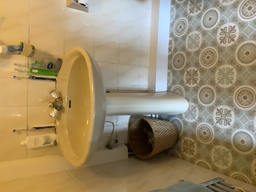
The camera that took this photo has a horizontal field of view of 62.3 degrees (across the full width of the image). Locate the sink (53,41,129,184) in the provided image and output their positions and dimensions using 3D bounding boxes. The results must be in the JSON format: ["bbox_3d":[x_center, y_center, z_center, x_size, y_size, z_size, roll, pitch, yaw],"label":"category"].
[{"bbox_3d":[-0.230,0.060,1.140,0.500,0.180,0.600,6,94,54],"label":"sink"}]

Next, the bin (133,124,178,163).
[{"bbox_3d":[0.210,0.350,1.620,0.220,0.250,0.240,-6,84,54],"label":"bin"}]
